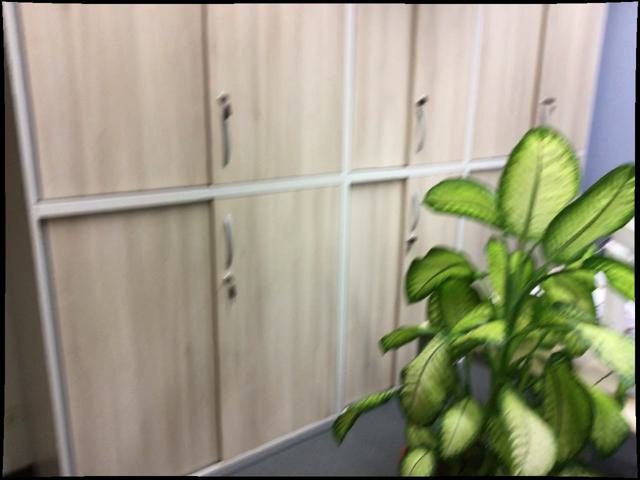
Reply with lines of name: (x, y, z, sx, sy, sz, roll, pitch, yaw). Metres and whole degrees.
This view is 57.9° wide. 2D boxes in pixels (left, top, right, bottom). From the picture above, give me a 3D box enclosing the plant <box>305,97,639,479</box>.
plant: (0.629, 0.340, 1.810, 0.989, 1.431, 0.870, -14, 25, -41)
